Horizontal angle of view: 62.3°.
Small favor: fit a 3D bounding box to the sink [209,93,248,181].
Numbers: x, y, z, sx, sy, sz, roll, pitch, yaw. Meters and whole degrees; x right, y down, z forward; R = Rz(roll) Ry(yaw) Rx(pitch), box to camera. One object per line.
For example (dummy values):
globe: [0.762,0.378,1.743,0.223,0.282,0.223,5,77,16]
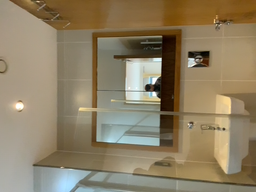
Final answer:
sink: [0.830,0.300,1.800,0.490,0.150,0.630,-22,-68,-79]
